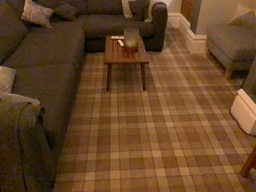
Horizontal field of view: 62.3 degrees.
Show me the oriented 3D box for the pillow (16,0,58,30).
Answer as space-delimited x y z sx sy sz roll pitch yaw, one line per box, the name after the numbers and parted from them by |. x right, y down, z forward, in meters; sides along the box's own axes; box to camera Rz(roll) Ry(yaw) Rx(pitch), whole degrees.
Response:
-1.240 -1.180 2.940 0.440 0.200 0.400 25 28 -25 | pillow

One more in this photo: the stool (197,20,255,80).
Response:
1.380 -0.620 2.730 0.630 0.450 0.820 -1 37 -3 | stool

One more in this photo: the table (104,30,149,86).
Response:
-0.040 -0.480 2.540 0.450 0.360 0.760 -1 36 -4 | table

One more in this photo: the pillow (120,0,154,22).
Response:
0.120 -1.390 3.230 0.460 0.360 0.450 -3 37 -5 | pillow
